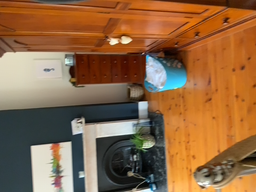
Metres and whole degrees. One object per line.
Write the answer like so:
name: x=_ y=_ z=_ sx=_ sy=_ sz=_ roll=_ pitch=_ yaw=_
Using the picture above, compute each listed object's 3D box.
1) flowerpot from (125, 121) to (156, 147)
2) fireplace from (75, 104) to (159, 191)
flowerpot: x=0.200 y=0.620 z=3.500 sx=0.270 sy=0.410 sz=0.370 roll=155 pitch=110 yaw=-72
fireplace: x=-0.200 y=1.030 z=3.360 sx=0.790 sy=1.100 sz=1.700 roll=-176 pitch=83 yaw=-73
